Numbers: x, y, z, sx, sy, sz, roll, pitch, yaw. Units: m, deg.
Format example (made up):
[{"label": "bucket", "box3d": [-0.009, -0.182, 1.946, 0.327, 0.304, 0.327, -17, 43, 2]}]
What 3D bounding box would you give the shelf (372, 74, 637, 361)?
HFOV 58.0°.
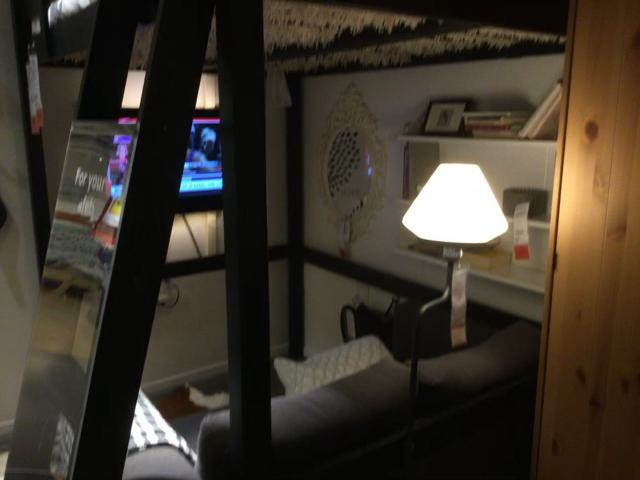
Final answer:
[{"label": "shelf", "box3d": [0.610, -0.140, 2.210, 0.250, 0.880, 0.980, -9, 15, -34]}]
